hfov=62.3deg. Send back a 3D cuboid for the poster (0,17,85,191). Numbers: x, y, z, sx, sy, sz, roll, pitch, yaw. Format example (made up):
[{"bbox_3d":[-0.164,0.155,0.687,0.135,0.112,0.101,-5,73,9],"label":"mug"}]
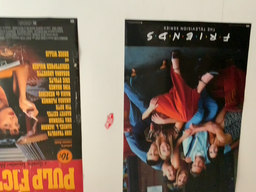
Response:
[{"bbox_3d":[-0.500,0.110,0.980,0.570,0.900,0.040,-1,-171,-9],"label":"poster"}]
